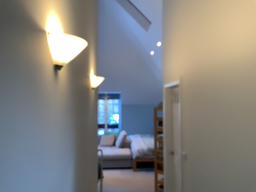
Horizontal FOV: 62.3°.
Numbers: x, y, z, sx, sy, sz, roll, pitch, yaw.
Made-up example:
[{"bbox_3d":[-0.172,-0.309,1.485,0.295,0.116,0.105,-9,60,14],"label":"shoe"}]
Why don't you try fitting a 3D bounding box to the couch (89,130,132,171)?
[{"bbox_3d":[-0.500,1.550,6.340,1.130,0.810,1.660,0,-1,-3],"label":"couch"}]
